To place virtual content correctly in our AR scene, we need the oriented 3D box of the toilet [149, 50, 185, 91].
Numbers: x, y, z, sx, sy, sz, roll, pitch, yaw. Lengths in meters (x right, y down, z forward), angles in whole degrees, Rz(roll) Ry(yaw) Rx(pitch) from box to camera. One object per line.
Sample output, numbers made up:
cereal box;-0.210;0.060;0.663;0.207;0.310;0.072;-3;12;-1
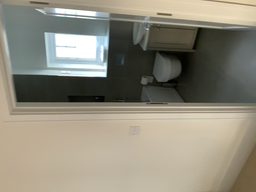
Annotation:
toilet;0.560;-0.390;3.180;0.520;0.280;0.440;-110;24;-57
